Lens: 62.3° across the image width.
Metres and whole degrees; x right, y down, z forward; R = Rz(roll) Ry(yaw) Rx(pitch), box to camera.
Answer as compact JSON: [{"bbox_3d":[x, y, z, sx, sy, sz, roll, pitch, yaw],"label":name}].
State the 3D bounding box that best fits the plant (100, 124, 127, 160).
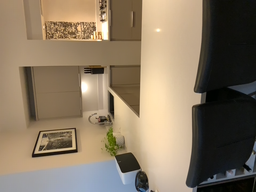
[{"bbox_3d":[-0.200,0.580,2.780,0.540,0.240,0.200,-133,42,-66],"label":"plant"}]
